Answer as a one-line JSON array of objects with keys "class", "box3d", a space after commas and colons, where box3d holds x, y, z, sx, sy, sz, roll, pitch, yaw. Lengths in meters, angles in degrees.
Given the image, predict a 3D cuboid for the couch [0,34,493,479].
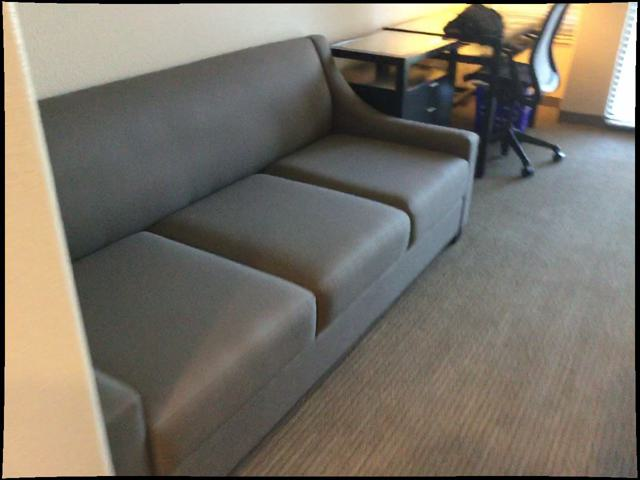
[{"class": "couch", "box3d": [-0.219, -0.100, 2.070, 0.958, 0.872, 2.129, 16, 32, 27]}]
